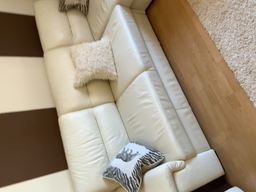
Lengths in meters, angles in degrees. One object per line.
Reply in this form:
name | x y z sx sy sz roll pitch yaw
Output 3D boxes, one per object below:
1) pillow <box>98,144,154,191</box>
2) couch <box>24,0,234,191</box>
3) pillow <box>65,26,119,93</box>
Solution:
pillow | -0.030 0.520 1.560 0.380 0.180 0.280 -21 78 53
couch | -0.250 -0.300 2.050 0.940 0.870 2.580 -44 60 47
pillow | -0.330 -0.330 1.970 0.260 0.390 0.470 121 159 -59
